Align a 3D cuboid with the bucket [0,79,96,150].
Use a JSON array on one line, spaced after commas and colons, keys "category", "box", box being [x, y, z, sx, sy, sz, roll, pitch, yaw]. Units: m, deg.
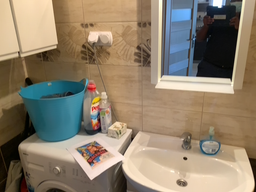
[{"category": "bucket", "box": [-0.520, 0.090, 1.390, 0.490, 0.290, 0.350, 5, 23, 16]}]
